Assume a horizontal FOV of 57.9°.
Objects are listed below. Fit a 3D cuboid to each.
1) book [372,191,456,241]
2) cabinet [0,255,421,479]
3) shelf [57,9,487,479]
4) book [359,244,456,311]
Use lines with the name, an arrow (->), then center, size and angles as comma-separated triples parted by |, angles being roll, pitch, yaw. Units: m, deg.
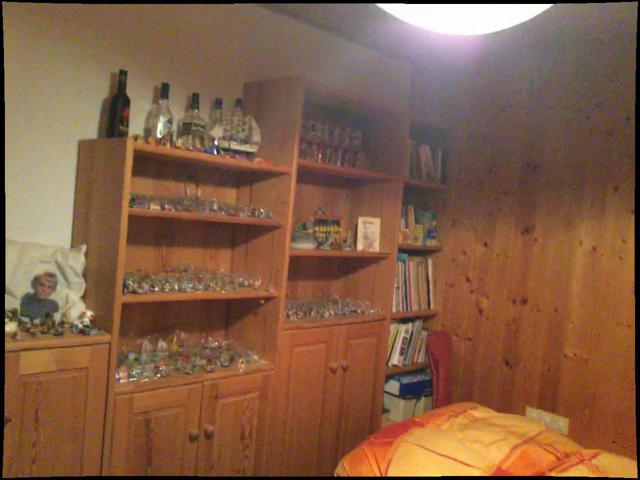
book -> 0.519, -0.130, 3.180 | 0.400, 0.240, 0.240 | -1, 8, -43
cabinet -> -0.509, 0.741, 2.320 | 2.389, 1.271, 0.300 | -1, 8, -43
shelf -> -0.090, 0.310, 2.740 | 1.999, 2.132, 0.520 | -1, 8, -43
book -> 0.480, 0.190, 3.140 | 0.480, 0.300, 0.250 | -1, 8, -43
